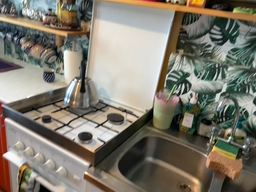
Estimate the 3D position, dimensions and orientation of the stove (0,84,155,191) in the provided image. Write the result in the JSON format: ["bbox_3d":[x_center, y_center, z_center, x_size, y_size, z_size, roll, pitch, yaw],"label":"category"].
[{"bbox_3d":[-0.250,0.150,1.130,0.580,0.160,0.570,21,24,25],"label":"stove"}]

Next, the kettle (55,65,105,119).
[{"bbox_3d":[-0.270,-0.030,1.190,0.190,0.220,0.180,20,24,25],"label":"kettle"}]

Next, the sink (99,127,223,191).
[{"bbox_3d":[0.150,0.340,0.880,0.370,0.170,0.380,21,24,25],"label":"sink"}]
